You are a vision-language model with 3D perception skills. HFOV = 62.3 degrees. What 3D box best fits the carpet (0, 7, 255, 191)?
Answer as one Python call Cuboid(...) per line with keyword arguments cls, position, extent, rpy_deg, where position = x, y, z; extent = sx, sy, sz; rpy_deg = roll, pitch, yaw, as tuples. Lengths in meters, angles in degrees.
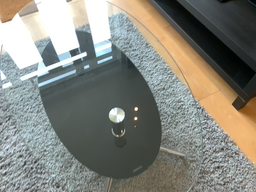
Cuboid(cls="carpet", position=(-0.160, 0.210, 1.140), extent=(1.230, 0.070, 1.720), rpy_deg=(-25, 61, -15))
